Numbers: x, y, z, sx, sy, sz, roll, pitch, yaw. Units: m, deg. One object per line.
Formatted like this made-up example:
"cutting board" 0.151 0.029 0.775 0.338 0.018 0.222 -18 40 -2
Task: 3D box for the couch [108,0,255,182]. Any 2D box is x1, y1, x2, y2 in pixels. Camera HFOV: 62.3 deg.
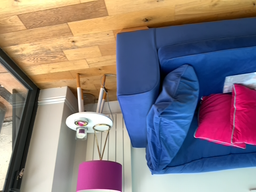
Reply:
"couch" 1.200 0.000 1.590 2.500 0.900 1.080 -5 148 5

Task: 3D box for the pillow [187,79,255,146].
"pillow" 0.770 0.130 1.510 0.600 0.400 0.310 -2 160 6
